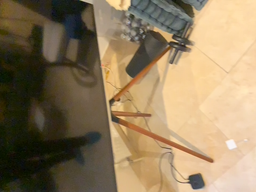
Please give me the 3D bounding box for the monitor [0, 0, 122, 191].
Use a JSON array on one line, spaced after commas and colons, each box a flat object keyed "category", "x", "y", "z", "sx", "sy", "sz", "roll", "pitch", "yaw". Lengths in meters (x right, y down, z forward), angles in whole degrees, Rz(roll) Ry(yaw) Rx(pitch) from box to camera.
[{"category": "monitor", "x": -0.370, "y": 0.100, "z": 0.920, "sx": 0.060, "sy": 0.710, "sz": 1.270, "roll": -17, "pitch": 78, "yaw": 46}]
